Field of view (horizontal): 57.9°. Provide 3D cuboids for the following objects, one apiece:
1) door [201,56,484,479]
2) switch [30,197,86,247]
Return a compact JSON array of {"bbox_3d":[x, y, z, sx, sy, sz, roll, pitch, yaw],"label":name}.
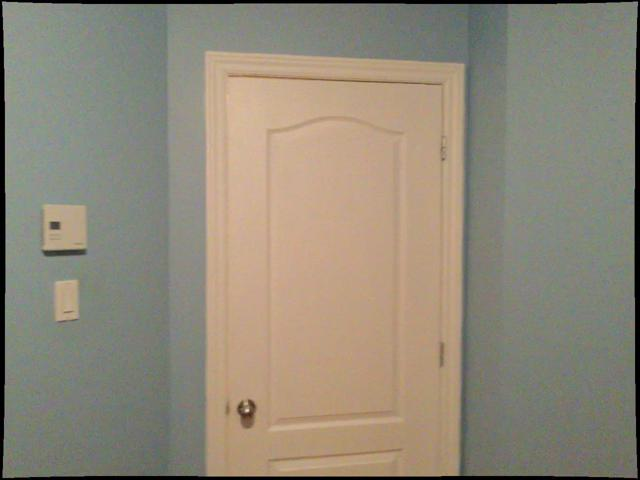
[{"bbox_3d":[0.070,0.430,2.010,0.919,2.012,0.220,0,4,-9],"label":"door"},{"bbox_3d":[-0.709,-0.050,1.570,0.050,0.130,0.130,2,4,34],"label":"switch"}]
